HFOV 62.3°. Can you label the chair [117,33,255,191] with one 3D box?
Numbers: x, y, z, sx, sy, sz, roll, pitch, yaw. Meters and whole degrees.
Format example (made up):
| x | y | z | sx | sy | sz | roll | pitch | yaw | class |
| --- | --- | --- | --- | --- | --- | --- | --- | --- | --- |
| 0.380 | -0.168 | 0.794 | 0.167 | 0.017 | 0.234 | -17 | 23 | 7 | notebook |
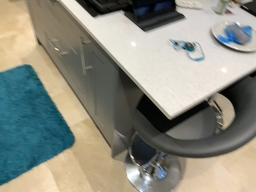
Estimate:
| x | y | z | sx | sy | sz | roll | pitch | yaw | class |
| --- | --- | --- | --- | --- | --- | --- | --- | --- | --- |
| 0.290 | 0.210 | 1.120 | 0.490 | 0.850 | 0.440 | -24 | 57 | -25 | chair |
